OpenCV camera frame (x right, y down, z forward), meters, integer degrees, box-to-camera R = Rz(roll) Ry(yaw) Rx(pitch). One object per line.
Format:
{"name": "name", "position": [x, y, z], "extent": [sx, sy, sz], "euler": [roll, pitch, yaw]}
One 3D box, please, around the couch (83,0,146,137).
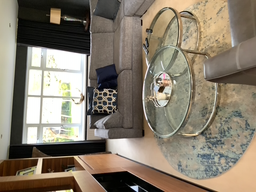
{"name": "couch", "position": [-0.320, -0.950, 4.070], "extent": [1.250, 0.790, 3.360], "euler": [159, 112, -66]}
